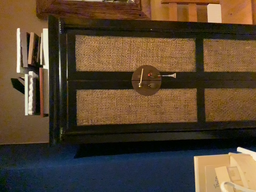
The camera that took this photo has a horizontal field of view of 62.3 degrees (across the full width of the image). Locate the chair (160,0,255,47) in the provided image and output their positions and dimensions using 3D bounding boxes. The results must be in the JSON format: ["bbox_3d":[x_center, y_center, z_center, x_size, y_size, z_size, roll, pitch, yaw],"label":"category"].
[{"bbox_3d":[0.820,-0.710,1.810,0.480,0.970,0.450,172,97,-81],"label":"chair"}]
